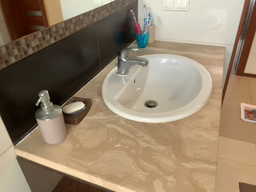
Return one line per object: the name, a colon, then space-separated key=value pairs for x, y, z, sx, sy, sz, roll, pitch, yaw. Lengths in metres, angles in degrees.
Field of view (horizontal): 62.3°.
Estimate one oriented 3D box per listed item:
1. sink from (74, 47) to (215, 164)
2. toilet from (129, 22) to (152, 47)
sink: x=0.130 y=-0.030 z=1.000 sx=0.470 sy=0.150 sz=0.610 roll=11 pitch=35 yaw=19
toilet: x=0.080 y=-0.390 z=1.330 sx=0.100 sy=0.110 sz=0.130 roll=11 pitch=35 yaw=19
